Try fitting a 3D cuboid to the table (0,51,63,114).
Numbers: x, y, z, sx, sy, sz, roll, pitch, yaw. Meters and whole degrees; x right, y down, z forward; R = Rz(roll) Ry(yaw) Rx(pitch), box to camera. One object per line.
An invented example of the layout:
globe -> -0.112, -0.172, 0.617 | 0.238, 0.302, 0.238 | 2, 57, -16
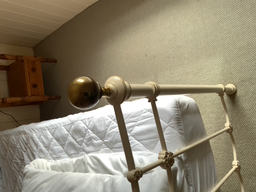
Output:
table -> -1.080, -0.100, 1.960 | 0.470, 0.730, 0.470 | -13, 83, 40
